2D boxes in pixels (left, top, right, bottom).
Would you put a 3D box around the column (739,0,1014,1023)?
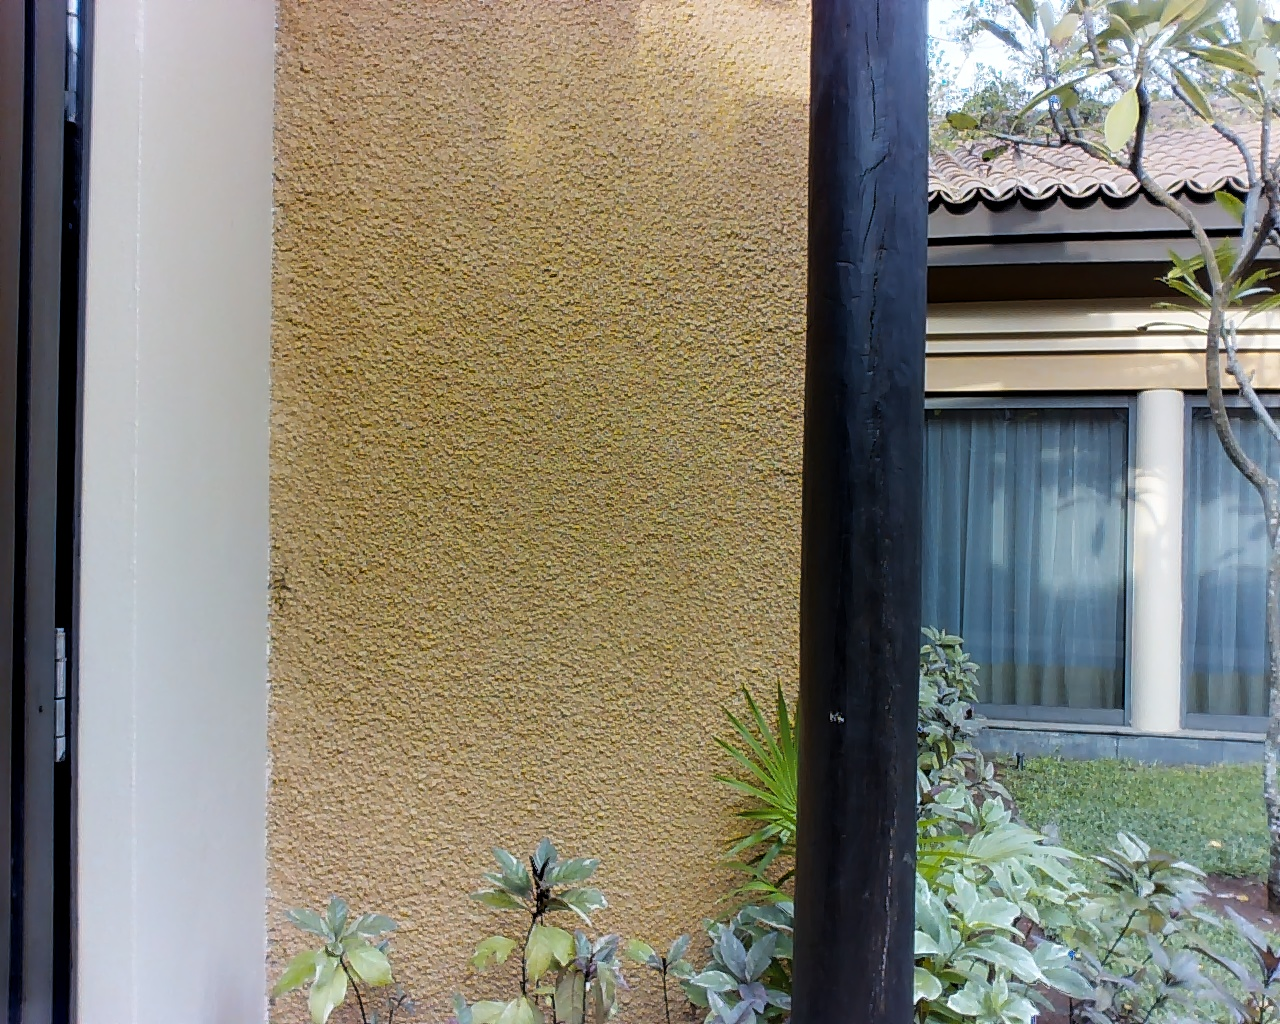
[{"bbox_3d":[0.410,0.070,2.000,0.330,2.781,0.480,1,1,-7],"label":"column"}]
